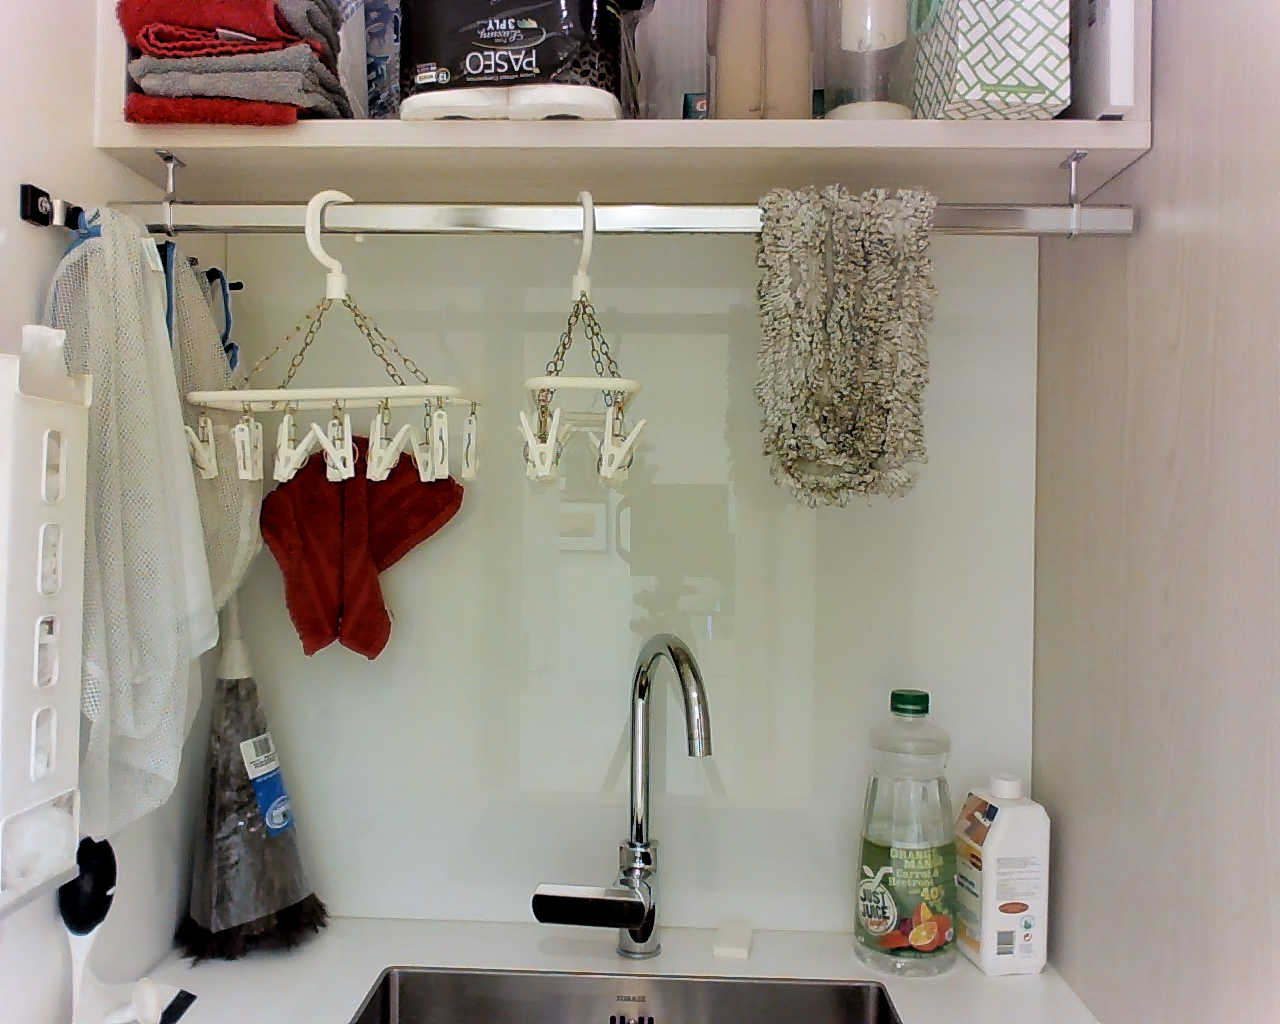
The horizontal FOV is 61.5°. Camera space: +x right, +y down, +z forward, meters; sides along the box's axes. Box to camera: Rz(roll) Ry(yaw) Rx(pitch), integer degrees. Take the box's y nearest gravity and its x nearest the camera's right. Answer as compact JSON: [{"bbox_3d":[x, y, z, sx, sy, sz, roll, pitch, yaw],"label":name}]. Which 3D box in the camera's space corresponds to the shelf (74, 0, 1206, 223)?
[{"bbox_3d":[0.000,-0.540,1.090,0.960,0.390,0.360,1,1,3],"label":"shelf"}]
